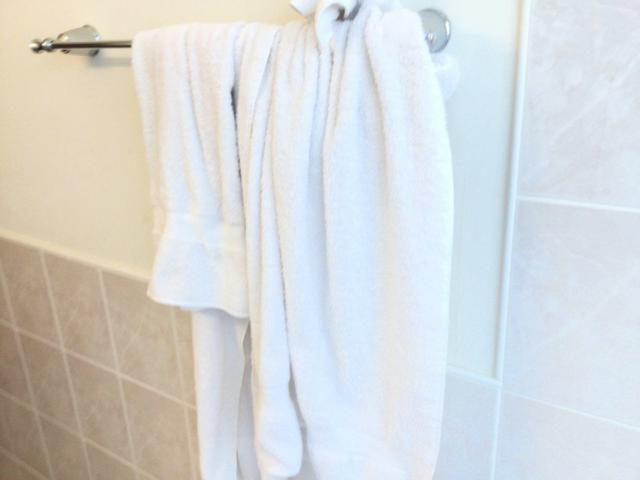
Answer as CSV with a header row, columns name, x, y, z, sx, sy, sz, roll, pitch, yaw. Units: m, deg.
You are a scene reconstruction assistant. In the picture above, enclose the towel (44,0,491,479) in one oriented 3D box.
name,x,y,z,sx,sy,sz,roll,pitch,yaw
towel,-0.050,0.120,0.770,0.480,0.880,0.180,9,24,33
